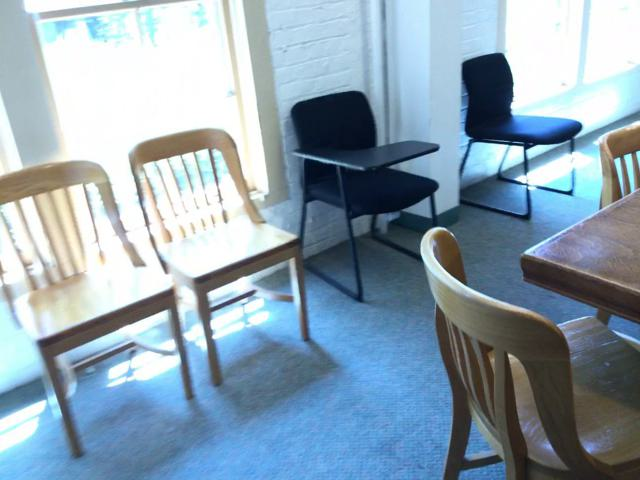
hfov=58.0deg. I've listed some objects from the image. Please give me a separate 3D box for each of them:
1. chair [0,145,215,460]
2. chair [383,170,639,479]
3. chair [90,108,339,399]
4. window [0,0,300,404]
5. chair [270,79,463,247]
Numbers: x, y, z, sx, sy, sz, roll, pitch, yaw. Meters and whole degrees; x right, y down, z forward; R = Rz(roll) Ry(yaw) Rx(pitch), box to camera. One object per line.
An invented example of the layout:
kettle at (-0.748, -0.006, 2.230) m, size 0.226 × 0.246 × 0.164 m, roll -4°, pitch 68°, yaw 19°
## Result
chair at (-0.820, 0.170, 2.060) m, size 0.500 × 0.840 × 0.610 m, roll -24°, pitch 28°, yaw -33°
chair at (0.540, 0.360, 1.330) m, size 0.610 × 0.820 × 0.610 m, roll -9°, pitch 24°, yaw -4°
chair at (-0.390, 0.000, 2.290) m, size 0.620 × 0.870 × 0.580 m, roll -24°, pitch 28°, yaw -33°
window at (-0.950, -0.280, 2.230) m, size 1.710 × 1.450 × 0.340 m, roll -24°, pitch 28°, yaw -33°
chair at (0.220, -0.390, 2.630) m, size 0.580 × 0.540 × 0.600 m, roll -24°, pitch 28°, yaw -33°
